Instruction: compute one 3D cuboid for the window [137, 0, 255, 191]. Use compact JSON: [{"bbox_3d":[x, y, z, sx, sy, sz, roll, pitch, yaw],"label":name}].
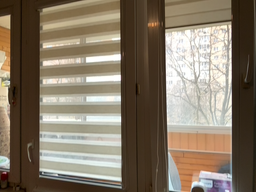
[{"bbox_3d":[0.780,-0.030,0.990,1.450,1.360,0.260,0,-1,17],"label":"window"}]
